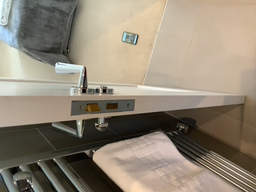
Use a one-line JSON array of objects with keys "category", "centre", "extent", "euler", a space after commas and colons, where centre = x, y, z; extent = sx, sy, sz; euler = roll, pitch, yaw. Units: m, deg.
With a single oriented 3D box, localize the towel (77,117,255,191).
[{"category": "towel", "centre": [0.120, 0.220, 0.580], "extent": [0.500, 0.270, 0.100], "euler": [28, 109, 39]}]
